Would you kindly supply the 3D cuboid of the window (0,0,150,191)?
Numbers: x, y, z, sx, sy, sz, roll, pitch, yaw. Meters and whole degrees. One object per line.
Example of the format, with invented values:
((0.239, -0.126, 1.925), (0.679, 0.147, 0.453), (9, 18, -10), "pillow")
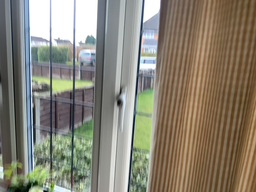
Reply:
((-0.450, -0.050, 0.980), (1.060, 1.310, 0.070), (9, 12, 21), "window")
